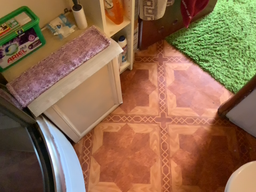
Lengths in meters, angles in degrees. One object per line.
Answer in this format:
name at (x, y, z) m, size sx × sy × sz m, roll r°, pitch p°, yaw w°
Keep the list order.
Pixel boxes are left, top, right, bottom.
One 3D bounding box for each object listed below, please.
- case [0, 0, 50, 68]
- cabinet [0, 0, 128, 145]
case at (-0.460, -0.230, 0.820) m, size 0.260 × 0.140 × 0.090 m, roll -37°, pitch 70°, yaw -15°
cabinet at (-0.290, -0.080, 1.130) m, size 0.470 × 0.570 × 0.330 m, roll -40°, pitch 71°, yaw -16°
